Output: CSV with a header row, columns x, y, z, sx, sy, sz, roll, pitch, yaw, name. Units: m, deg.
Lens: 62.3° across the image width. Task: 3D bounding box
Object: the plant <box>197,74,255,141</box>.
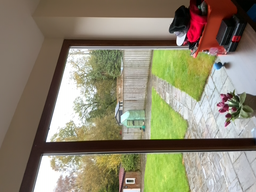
x,y,z,sx,sy,sz,roll,pitch,yaw,name
0.630,0.080,1.370,0.350,0.200,0.280,93,175,-49,plant
